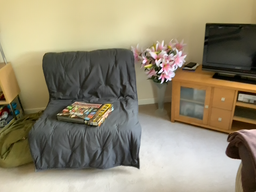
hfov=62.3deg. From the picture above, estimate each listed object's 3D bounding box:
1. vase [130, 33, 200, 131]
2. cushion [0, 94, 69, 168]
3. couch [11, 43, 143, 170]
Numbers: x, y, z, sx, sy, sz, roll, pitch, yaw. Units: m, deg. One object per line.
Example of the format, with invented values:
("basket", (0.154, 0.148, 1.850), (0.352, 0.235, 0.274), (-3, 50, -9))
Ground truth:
("vase", (0.380, -0.160, 2.420), (0.620, 0.940, 0.500), (-5, 28, -2))
("cushion", (-1.070, 0.330, 2.310), (0.630, 0.290, 0.870), (-4, 28, -1))
("couch", (-0.370, 0.020, 2.180), (0.920, 0.800, 1.100), (-4, 28, 0))
